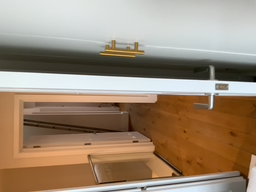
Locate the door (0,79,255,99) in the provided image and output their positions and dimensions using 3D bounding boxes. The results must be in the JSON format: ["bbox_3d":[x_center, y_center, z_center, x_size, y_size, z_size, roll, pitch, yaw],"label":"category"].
[{"bbox_3d":[0.100,-0.030,1.130,0.840,1.950,0.040,-172,84,-73],"label":"door"}]
